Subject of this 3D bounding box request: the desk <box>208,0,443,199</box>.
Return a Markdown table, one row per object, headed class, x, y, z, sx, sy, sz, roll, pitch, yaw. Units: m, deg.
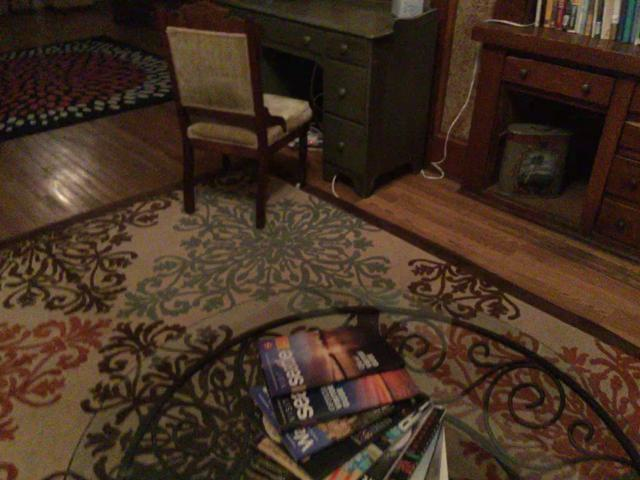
| class | x | y | z | sx | sy | sz | roll | pitch | yaw |
| --- | --- | --- | --- | --- | --- | --- | --- | --- | --- |
| desk | 0.000 | -0.800 | 2.990 | 1.110 | 0.790 | 0.490 | 24 | 38 | 39 |
